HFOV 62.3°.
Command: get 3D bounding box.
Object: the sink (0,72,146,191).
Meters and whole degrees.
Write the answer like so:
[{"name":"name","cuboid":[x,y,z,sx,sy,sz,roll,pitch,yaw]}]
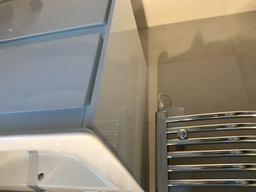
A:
[{"name":"sink","cuboid":[-0.310,0.160,0.600,0.650,0.130,0.430,-5,143,14]}]
